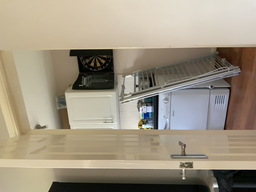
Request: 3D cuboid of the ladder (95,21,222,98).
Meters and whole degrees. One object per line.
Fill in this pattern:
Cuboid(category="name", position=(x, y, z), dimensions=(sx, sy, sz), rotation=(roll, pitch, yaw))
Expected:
Cuboid(category="ladder", position=(0.370, -0.400, 2.500), dimensions=(0.190, 1.490, 0.830), rotation=(-179, 89, -81))
